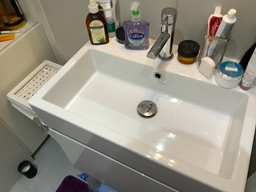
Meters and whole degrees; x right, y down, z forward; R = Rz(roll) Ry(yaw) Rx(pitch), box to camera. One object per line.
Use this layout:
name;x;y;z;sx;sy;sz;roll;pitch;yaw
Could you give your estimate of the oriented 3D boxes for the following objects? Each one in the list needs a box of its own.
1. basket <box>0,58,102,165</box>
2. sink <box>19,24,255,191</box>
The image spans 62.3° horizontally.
basket;-0.410;0.110;1.270;0.320;0.540;0.290;21;55;20
sink;0.060;0.020;0.700;0.620;0.180;0.420;21;55;19
